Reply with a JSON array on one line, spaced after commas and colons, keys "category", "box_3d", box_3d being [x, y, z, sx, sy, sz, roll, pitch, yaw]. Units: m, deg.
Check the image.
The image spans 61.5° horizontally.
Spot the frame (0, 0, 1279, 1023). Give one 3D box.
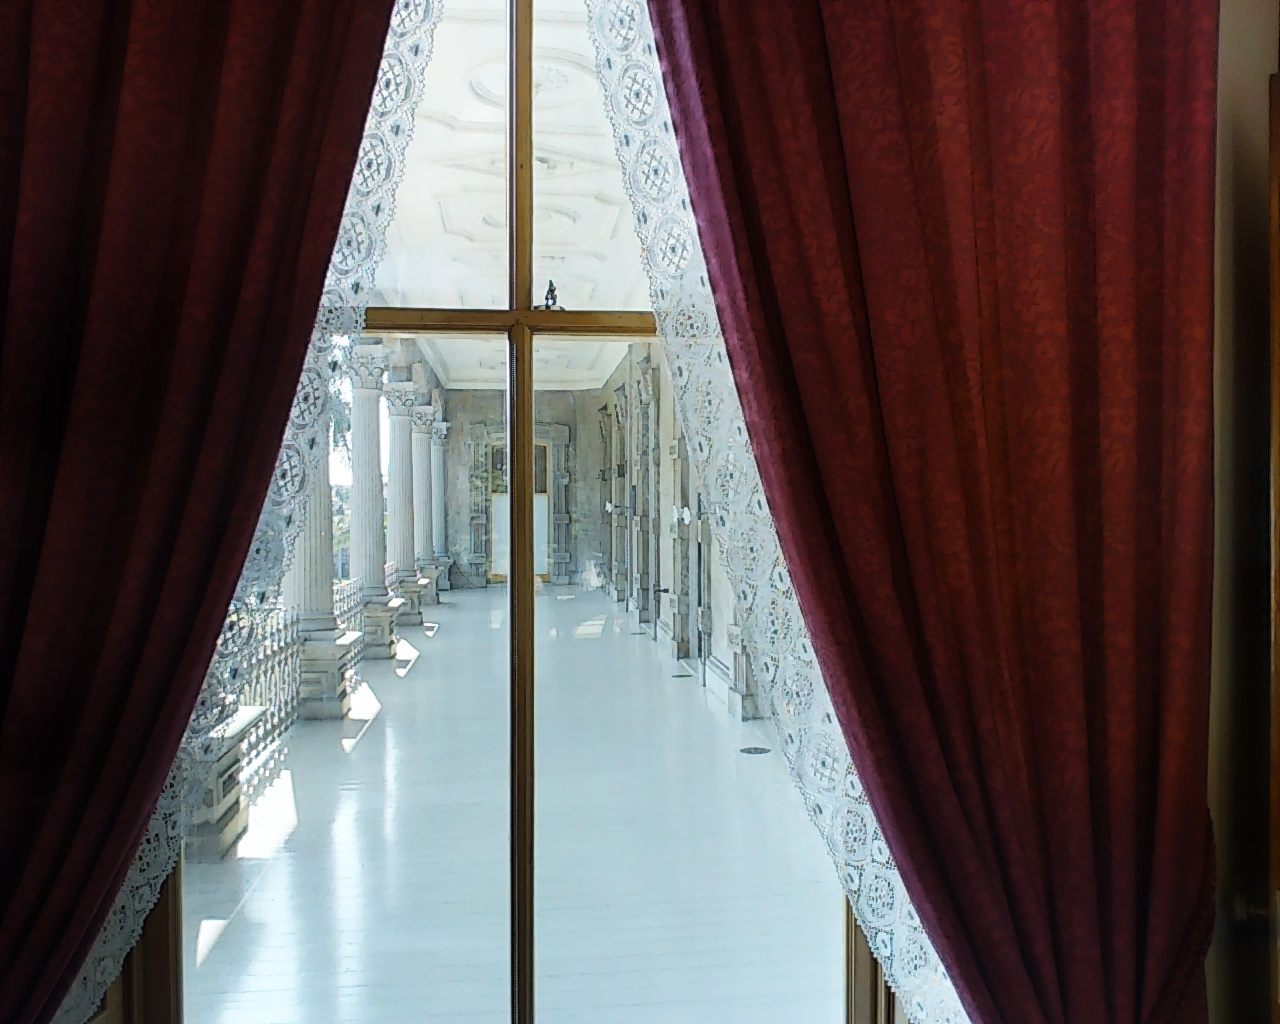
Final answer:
[{"category": "frame", "box_3d": [-0.230, -0.590, 1.570, 3.350, 4.221, 0.220, 0, 0, -5]}]
